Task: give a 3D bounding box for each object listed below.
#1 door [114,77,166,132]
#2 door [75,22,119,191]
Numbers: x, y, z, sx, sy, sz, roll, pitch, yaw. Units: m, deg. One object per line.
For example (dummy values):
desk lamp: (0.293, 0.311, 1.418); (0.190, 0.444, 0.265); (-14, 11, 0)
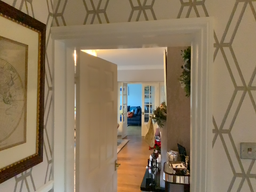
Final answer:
door: (0.420, 0.300, 7.730); (1.890, 1.930, 0.160); (0, 1, 10)
door: (-0.250, 0.450, 1.980); (0.050, 2.000, 0.830); (1, 1, 17)
